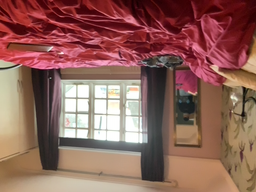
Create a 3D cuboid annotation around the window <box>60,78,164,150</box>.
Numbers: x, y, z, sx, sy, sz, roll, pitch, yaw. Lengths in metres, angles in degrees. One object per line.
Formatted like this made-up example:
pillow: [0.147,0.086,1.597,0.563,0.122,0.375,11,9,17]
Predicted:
window: [-0.330,0.280,3.850,1.920,1.210,0.160,1,-179,14]
